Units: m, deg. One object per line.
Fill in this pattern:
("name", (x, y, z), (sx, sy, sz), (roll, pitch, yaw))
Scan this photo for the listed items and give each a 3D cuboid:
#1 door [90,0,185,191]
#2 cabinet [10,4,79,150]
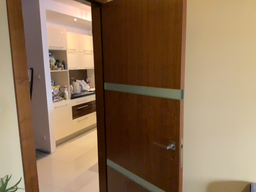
("door", (0.010, 0.270, 1.660), (0.050, 2.030, 0.920), (-8, 11, -41))
("cabinet", (-1.670, -0.360, 4.360), (0.950, 2.630, 0.700), (4, 10, 29))
